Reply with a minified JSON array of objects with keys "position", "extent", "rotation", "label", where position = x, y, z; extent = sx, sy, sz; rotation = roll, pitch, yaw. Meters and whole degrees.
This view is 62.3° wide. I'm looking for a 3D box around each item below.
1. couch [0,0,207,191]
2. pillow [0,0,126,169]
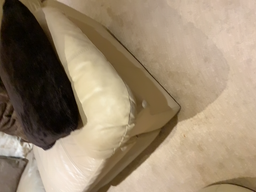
[{"position":[-0.850,0.480,1.440],"extent":[2.360,0.980,1.010],"rotation":[-49,65,28],"label":"couch"},{"position":[-0.390,-0.020,0.900],"extent":[0.580,0.290,0.490],"rotation":[-29,76,34],"label":"pillow"}]
